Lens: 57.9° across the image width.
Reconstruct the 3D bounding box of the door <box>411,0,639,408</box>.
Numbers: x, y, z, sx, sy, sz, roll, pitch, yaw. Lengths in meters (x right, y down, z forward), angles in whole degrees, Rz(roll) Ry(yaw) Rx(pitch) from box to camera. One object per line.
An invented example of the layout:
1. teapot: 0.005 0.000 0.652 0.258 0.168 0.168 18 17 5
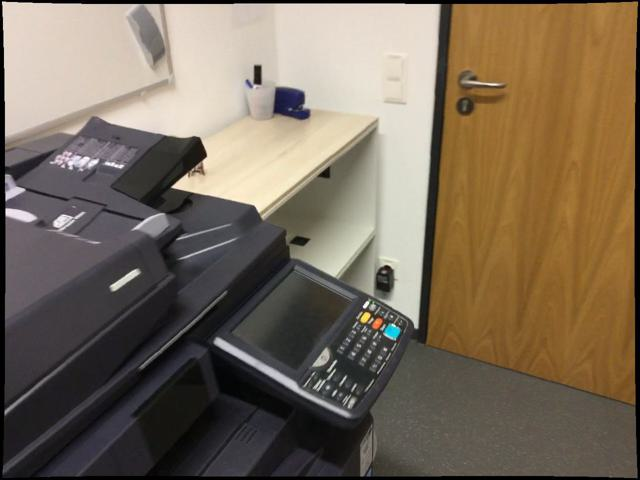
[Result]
1. door: 0.859 -0.440 1.560 1.079 2.162 0.140 11 32 20
